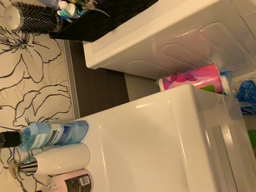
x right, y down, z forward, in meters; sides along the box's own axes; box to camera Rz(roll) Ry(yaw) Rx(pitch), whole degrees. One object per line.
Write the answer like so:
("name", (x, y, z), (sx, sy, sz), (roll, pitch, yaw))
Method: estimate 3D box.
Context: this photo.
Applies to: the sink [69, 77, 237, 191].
("sink", (0.070, 0.310, 0.570), (0.400, 0.160, 0.610), (-19, 76, 34))
